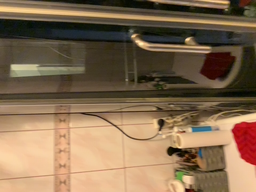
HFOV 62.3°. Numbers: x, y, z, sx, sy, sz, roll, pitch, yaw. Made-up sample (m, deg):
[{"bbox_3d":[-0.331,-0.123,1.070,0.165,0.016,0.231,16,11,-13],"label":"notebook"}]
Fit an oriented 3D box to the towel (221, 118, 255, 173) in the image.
[{"bbox_3d":[0.430,0.160,0.700,0.260,0.070,0.170,138,130,-73],"label":"towel"}]
